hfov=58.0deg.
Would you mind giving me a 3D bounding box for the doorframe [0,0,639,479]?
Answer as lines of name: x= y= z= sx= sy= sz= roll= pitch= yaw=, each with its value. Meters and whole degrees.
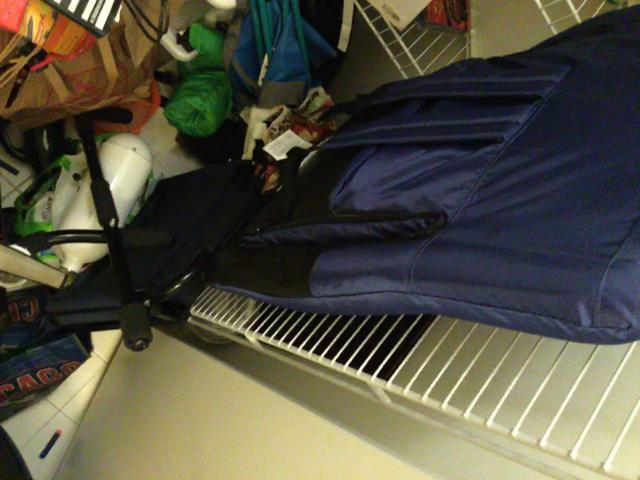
doorframe: x=-0.200 y=-0.120 z=0.460 sx=0.230 sy=0.830 sz=2.050 roll=-48 pitch=20 yaw=-22
